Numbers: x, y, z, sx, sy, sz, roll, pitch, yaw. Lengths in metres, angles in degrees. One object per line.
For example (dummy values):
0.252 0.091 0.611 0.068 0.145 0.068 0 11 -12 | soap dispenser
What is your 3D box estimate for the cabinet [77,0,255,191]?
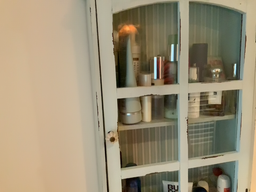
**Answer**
0.110 0.070 0.500 0.400 0.640 0.150 -5 11 -13 | cabinet
